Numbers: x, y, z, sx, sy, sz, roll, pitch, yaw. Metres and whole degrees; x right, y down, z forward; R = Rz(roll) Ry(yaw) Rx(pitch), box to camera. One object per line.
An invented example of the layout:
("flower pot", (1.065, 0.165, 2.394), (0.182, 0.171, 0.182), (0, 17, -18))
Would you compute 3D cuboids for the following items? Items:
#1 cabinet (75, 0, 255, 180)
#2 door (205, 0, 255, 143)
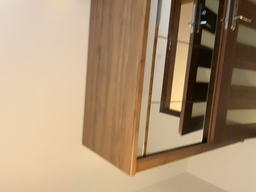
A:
("cabinet", (0.460, -0.650, 1.860), (1.520, 2.200, 0.670), (0, -172, -41))
("door", (1.070, -0.690, 1.750), (0.810, 2.120, 0.080), (1, -173, -33))
